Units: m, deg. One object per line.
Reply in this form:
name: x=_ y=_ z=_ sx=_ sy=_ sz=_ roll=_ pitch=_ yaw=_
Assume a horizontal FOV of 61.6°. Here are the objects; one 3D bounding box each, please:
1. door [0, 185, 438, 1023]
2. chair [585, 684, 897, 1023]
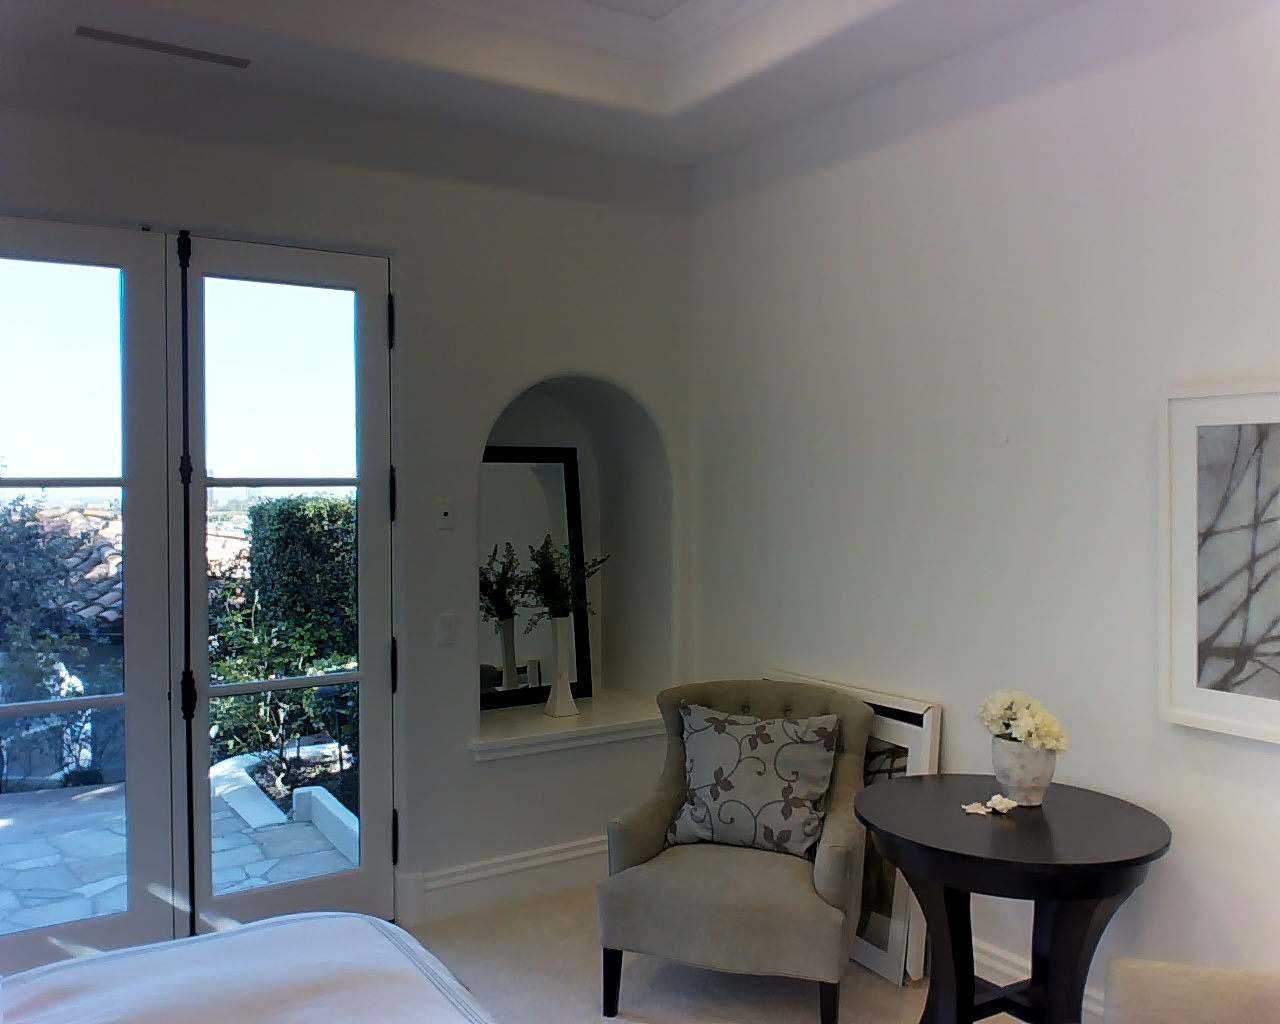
door: x=-1.550 y=0.310 z=3.650 sx=1.650 sy=2.581 sz=0.370 roll=-1 pitch=0 yaw=-33
chair: x=0.370 y=1.110 z=3.510 sx=0.810 sy=0.920 sz=0.880 roll=-1 pitch=0 yaw=20
